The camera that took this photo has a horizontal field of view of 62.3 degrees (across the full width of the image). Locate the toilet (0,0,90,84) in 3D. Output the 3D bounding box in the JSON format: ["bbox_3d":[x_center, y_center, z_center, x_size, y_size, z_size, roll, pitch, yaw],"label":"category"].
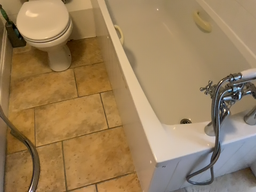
[{"bbox_3d":[-0.620,-0.640,1.580,0.460,0.800,0.670,-12,55,-9],"label":"toilet"}]

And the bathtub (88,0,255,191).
[{"bbox_3d":[0.180,-0.320,1.510,0.680,0.540,1.670,-13,55,-9],"label":"bathtub"}]
